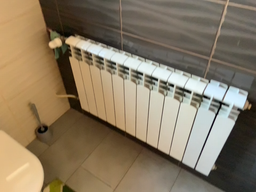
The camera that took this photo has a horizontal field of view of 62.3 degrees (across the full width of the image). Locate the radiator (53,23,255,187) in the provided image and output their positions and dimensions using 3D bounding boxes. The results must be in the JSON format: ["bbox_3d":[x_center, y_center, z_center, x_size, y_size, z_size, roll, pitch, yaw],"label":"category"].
[{"bbox_3d":[0.060,0.050,1.270,1.050,0.690,0.150,24,49,23],"label":"radiator"}]
